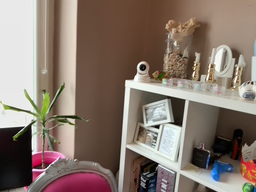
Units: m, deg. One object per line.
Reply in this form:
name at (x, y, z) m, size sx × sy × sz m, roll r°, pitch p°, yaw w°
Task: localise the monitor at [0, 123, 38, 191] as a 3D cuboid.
monitor at (-0.700, 0.350, 0.940) m, size 0.540 × 0.420 × 0.030 m, roll -3°, pitch 14°, yaw -24°
